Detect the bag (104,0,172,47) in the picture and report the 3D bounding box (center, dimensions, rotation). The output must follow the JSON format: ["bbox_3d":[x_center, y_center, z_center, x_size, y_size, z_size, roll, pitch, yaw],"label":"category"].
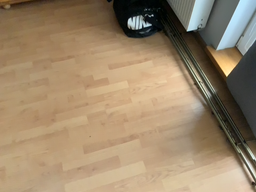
[{"bbox_3d":[0.050,-0.770,1.840,0.410,0.220,0.660,-12,58,-8],"label":"bag"}]
